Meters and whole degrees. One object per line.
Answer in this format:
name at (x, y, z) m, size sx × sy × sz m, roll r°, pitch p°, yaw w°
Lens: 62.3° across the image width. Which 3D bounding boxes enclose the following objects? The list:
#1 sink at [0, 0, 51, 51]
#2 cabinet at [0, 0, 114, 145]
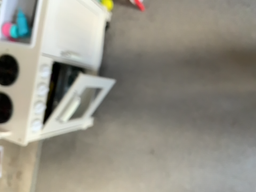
sink at (-0.420, -0.320, 0.850) m, size 0.150 × 0.120 × 0.240 m, roll 10°, pitch 94°, yaw 18°
cabinet at (-0.330, -0.160, 1.030) m, size 0.270 × 0.490 × 0.640 m, roll 10°, pitch 94°, yaw 18°
